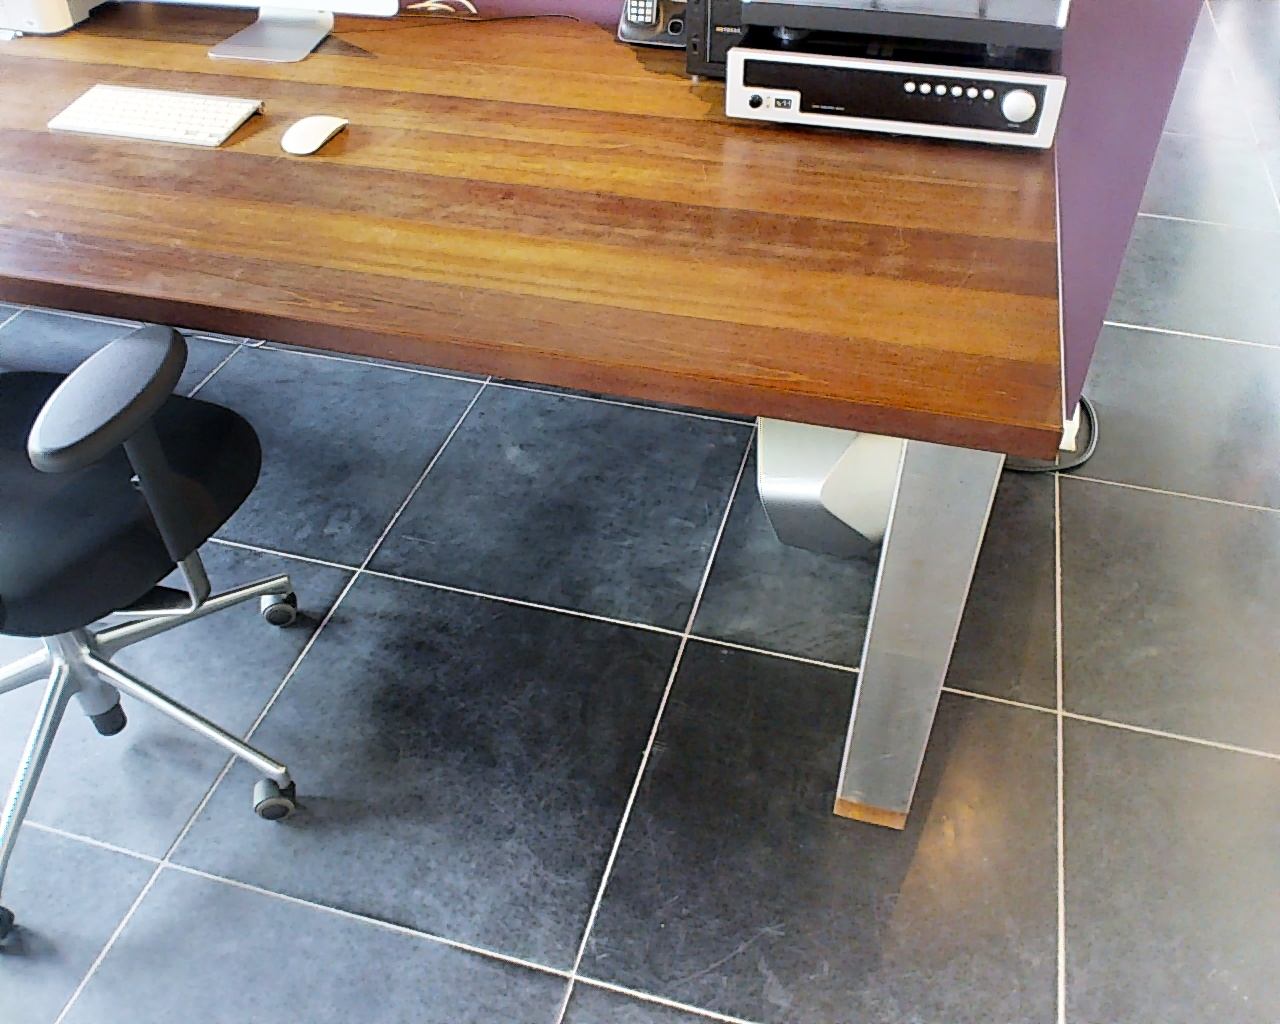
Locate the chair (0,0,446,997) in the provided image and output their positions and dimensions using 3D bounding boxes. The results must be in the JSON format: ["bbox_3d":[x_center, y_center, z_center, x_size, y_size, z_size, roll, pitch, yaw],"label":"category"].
[{"bbox_3d":[-0.810,-0.080,1.330,0.780,1.080,0.700,10,43,12],"label":"chair"}]
